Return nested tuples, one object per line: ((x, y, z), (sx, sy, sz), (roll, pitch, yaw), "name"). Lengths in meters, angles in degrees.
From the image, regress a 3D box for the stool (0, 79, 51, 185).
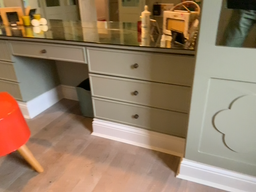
((-0.770, 0.210, 1.380), (0.410, 0.440, 0.510), (-8, 28, -13), "stool")
